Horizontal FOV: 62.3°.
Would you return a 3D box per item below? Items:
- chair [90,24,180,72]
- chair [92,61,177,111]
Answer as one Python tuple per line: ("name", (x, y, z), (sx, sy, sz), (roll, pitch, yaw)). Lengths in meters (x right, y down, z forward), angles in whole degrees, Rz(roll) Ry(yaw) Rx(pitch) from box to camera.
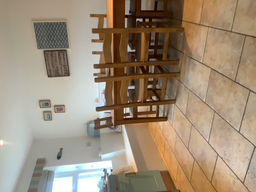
("chair", (0.040, -0.620, 2.650), (0.570, 1.000, 0.450), (-113, 23, -63))
("chair", (0.040, -0.160, 2.800), (0.570, 1.000, 0.420), (-111, 21, -60))
